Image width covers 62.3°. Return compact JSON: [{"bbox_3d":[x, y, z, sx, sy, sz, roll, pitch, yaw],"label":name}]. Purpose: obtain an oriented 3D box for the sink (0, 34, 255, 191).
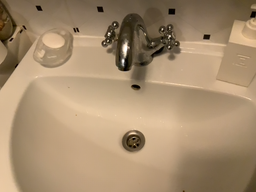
[{"bbox_3d":[0.000,0.100,0.480,0.640,0.170,0.460,8,55,13],"label":"sink"}]
